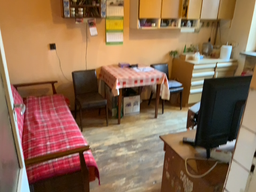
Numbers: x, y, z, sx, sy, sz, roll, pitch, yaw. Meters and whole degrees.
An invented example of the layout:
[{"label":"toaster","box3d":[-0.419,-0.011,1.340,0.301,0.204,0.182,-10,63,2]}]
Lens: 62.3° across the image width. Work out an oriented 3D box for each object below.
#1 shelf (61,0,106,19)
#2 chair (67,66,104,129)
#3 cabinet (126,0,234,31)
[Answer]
[{"label":"shelf","box3d":[-0.650,-1.350,3.120,0.630,0.380,0.140,-8,23,-23]},{"label":"chair","box3d":[-0.640,0.000,3.200,0.400,0.770,0.540,-8,23,-23]},{"label":"cabinet","box3d":[0.960,-1.570,3.700,2.000,0.800,0.340,-8,23,-23]}]
